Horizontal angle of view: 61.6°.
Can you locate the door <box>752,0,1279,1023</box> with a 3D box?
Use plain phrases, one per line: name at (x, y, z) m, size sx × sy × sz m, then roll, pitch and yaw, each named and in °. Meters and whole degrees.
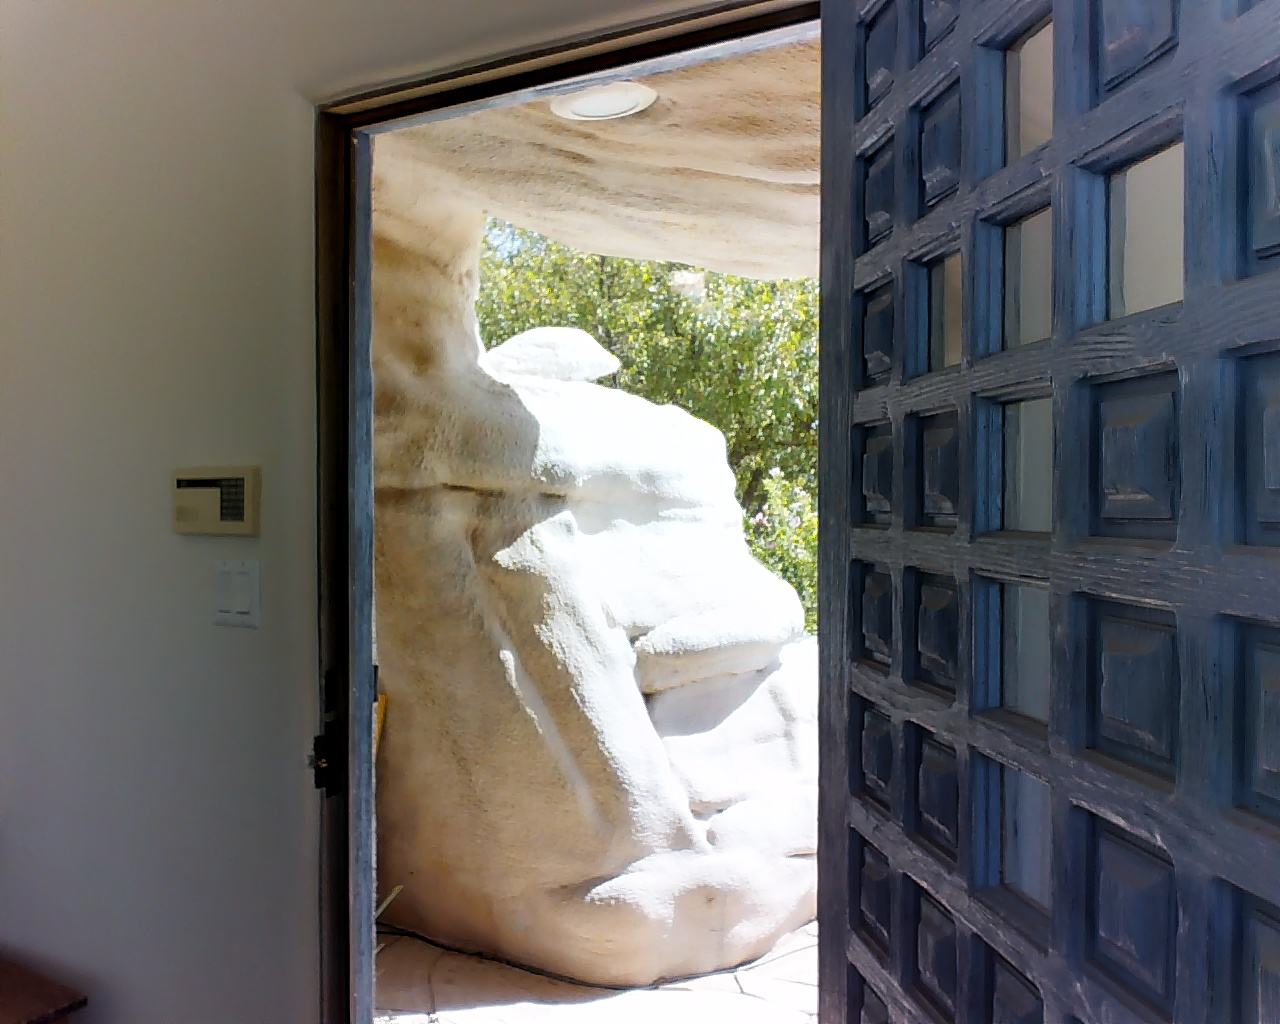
door at (0.250, 0.350, 0.820) m, size 0.070 × 2.141 × 0.970 m, roll 1°, pitch 0°, yaw -9°
